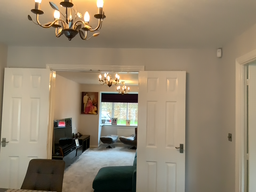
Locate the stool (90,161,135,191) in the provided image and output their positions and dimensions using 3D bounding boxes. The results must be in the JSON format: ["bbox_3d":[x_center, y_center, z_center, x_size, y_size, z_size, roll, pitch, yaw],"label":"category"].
[{"bbox_3d":[-0.230,1.400,3.520,0.660,0.420,0.670,2,-3,3],"label":"stool"}]

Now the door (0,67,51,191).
[{"bbox_3d":[-1.420,0.580,2.840,0.660,1.930,0.040,2,-3,0],"label":"door"}]

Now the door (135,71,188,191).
[{"bbox_3d":[0.430,0.650,2.740,0.630,1.950,0.020,2,-3,6],"label":"door"}]
